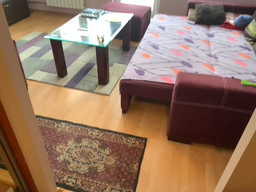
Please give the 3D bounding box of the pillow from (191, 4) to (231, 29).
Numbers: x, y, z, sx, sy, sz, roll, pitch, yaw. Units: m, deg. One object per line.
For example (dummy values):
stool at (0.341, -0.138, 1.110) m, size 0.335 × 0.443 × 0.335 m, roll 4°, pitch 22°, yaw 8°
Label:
pillow at (1.160, -1.150, 3.030) m, size 0.470 × 0.180 × 0.440 m, roll 9°, pitch 37°, yaw 9°

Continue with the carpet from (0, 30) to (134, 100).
carpet at (-0.950, -0.550, 2.960) m, size 1.800 × 0.090 × 1.400 m, roll 10°, pitch 37°, yaw 10°
